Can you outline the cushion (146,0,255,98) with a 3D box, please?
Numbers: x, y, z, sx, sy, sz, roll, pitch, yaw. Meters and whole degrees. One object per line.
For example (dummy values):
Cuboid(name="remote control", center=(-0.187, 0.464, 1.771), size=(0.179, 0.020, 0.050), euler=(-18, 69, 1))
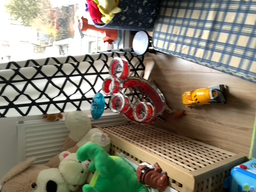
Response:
Cuboid(name="cushion", center=(0.530, -0.480, 1.210), size=(0.880, 0.180, 0.740), euler=(33, 118, 48))
